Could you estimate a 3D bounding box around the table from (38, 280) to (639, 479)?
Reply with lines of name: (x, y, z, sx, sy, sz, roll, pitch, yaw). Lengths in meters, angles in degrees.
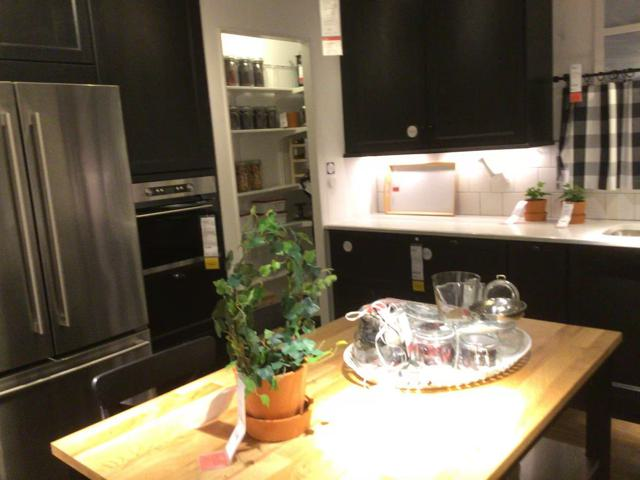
table: (0.190, 0.690, 1.450, 0.840, 0.820, 1.300, 5, 14, 44)
